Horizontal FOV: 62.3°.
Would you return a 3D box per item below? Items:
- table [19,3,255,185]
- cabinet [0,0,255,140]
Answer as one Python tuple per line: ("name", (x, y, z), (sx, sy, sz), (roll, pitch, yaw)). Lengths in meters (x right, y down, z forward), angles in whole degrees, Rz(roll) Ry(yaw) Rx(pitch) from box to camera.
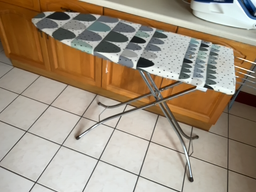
("table", (0.020, 0.000, 1.460), (1.210, 0.840, 0.440), (19, 45, 10))
("cabinet", (-0.120, -0.460, 1.860), (2.050, 0.900, 0.600), (19, 45, 10))
